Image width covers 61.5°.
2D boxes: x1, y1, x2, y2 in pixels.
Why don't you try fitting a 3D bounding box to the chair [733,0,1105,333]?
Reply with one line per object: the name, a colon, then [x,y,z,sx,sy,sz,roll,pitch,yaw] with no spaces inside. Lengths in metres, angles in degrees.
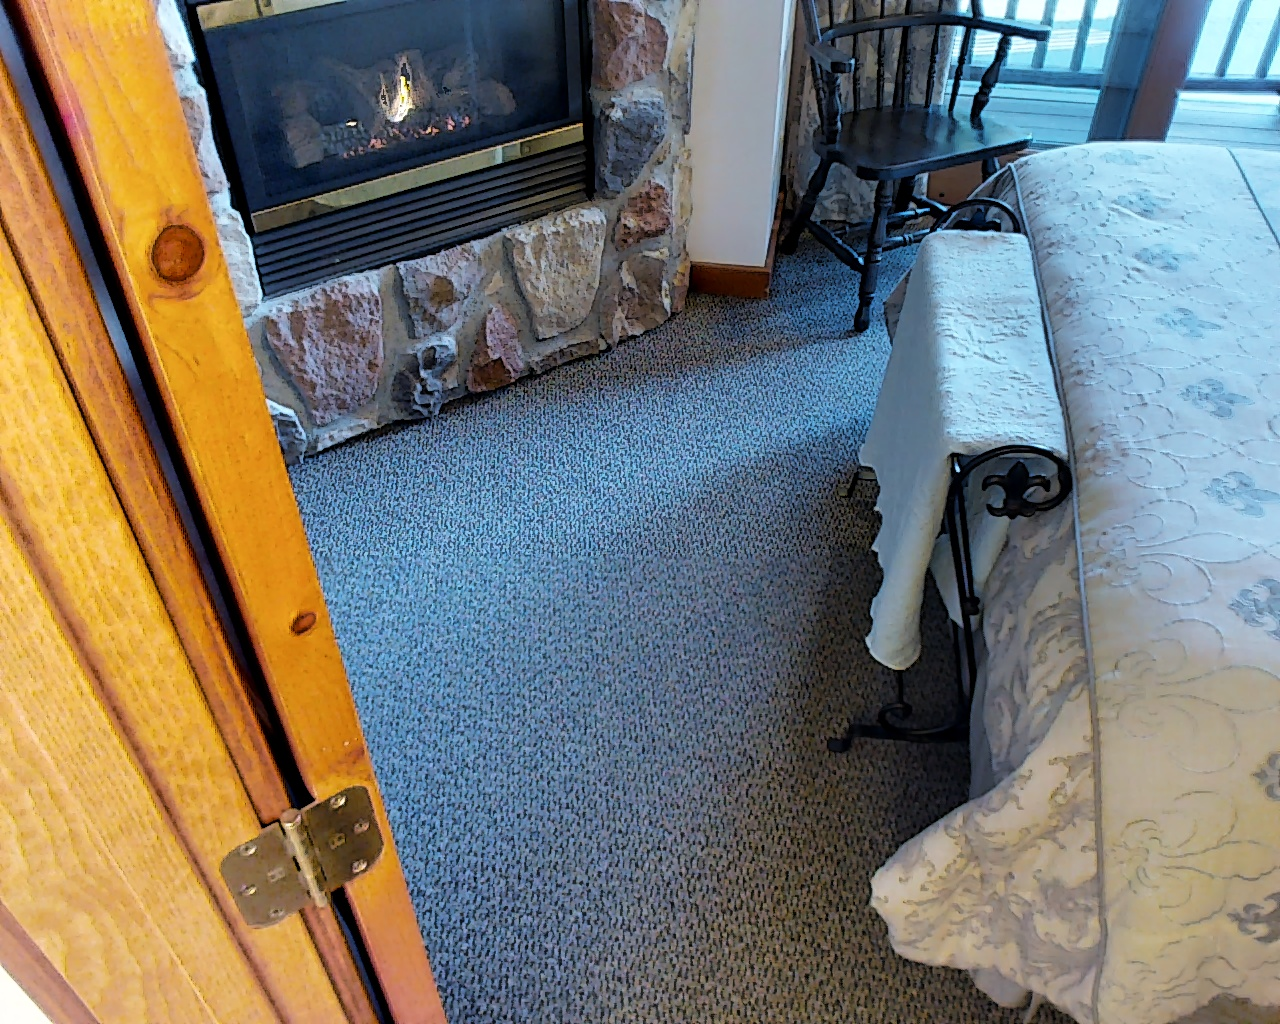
chair: [0.700,-1.100,2.860,0.660,0.940,0.580,-19,44,-20]
